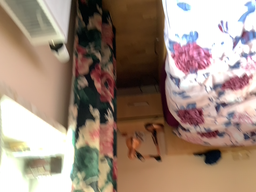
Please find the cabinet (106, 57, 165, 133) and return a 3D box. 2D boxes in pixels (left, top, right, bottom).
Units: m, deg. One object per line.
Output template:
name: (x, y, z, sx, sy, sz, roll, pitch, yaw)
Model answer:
cabinet: (0.070, 0.000, 2.020, 0.480, 0.570, 0.400, -5, 154, 5)
